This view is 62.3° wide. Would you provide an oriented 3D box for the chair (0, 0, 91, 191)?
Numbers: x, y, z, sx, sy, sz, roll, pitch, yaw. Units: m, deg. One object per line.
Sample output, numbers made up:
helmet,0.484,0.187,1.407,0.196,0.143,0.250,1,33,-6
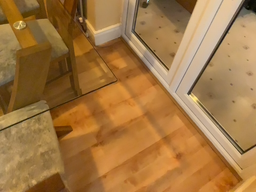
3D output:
chair,-0.460,0.210,0.820,0.400,1.030,0.550,-26,64,-23
